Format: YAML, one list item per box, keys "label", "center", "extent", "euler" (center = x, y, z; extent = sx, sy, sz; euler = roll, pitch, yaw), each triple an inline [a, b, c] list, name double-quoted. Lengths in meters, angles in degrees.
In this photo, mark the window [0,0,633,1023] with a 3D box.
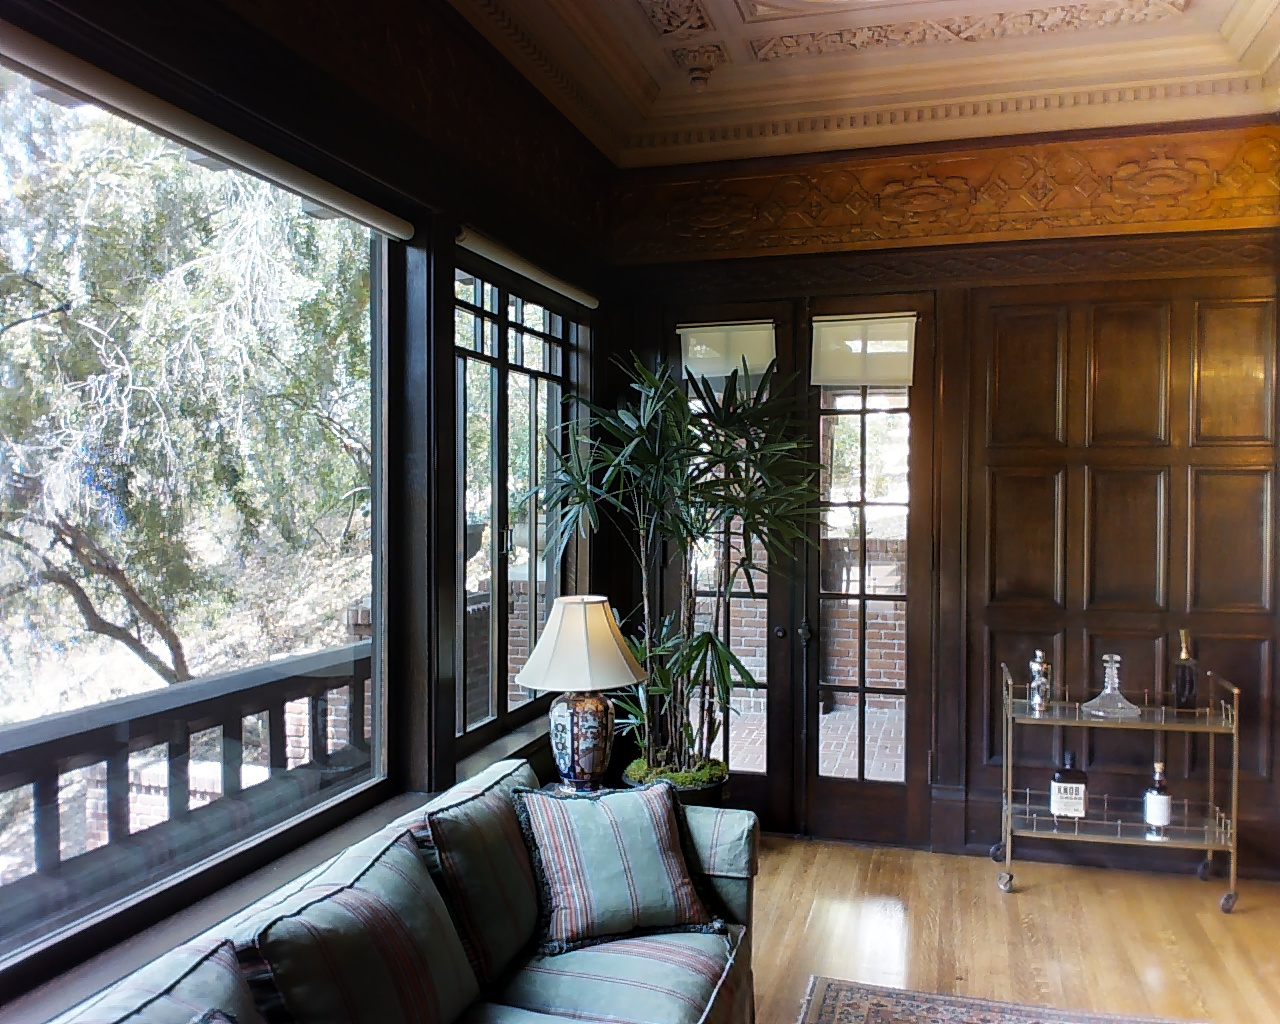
- label: "window"
  center: [-1.110, 0.020, 2.320]
  extent: [0.310, 2.380, 6.460]
  euler: [1, 1, 17]
